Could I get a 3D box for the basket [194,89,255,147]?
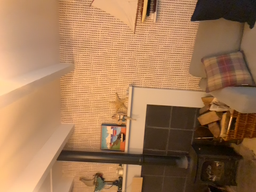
[{"bbox_3d":[1.070,0.210,2.300,0.530,0.470,0.450,-95,9,-76],"label":"basket"}]
